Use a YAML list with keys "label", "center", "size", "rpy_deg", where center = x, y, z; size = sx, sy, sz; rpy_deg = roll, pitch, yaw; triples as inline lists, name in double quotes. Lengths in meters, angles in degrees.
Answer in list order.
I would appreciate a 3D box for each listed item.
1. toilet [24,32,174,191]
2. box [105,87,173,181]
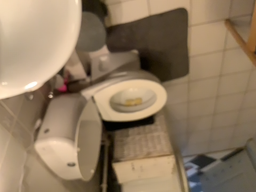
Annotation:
- label: "toilet"
  center: [-0.140, 0.060, 1.340]
  size: [0.650, 0.830, 0.410]
  rpy_deg: [-11, 137, 5]
- label: "box"
  center: [0.080, 0.320, 1.880]
  size: [0.490, 0.660, 0.350]
  rpy_deg: [-10, 137, 3]
